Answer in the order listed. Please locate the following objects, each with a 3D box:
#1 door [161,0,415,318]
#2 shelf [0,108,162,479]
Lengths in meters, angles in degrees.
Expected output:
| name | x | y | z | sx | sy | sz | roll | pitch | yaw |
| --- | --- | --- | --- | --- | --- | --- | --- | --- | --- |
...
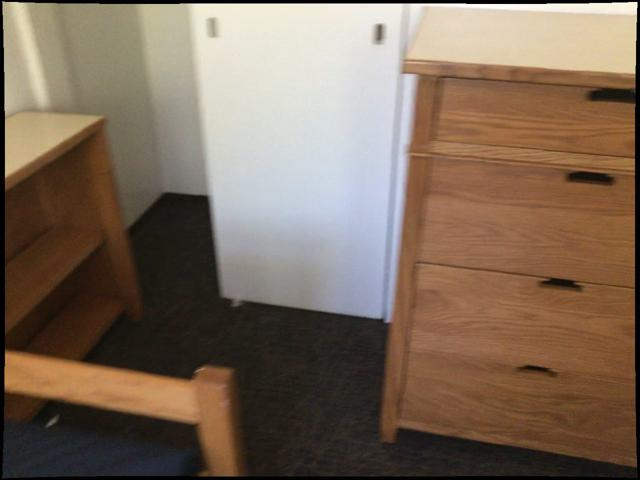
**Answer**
| name | x | y | z | sx | sy | sz | roll | pitch | yaw |
| --- | --- | --- | --- | --- | --- | --- | --- | --- | --- |
| door | -0.090 | -0.451 | 1.750 | 0.708 | 1.663 | 0.080 | 6 | 36 | 10 |
| shelf | -0.878 | 0.140 | 1.700 | 0.369 | 0.771 | 0.851 | 5 | 33 | 10 |
